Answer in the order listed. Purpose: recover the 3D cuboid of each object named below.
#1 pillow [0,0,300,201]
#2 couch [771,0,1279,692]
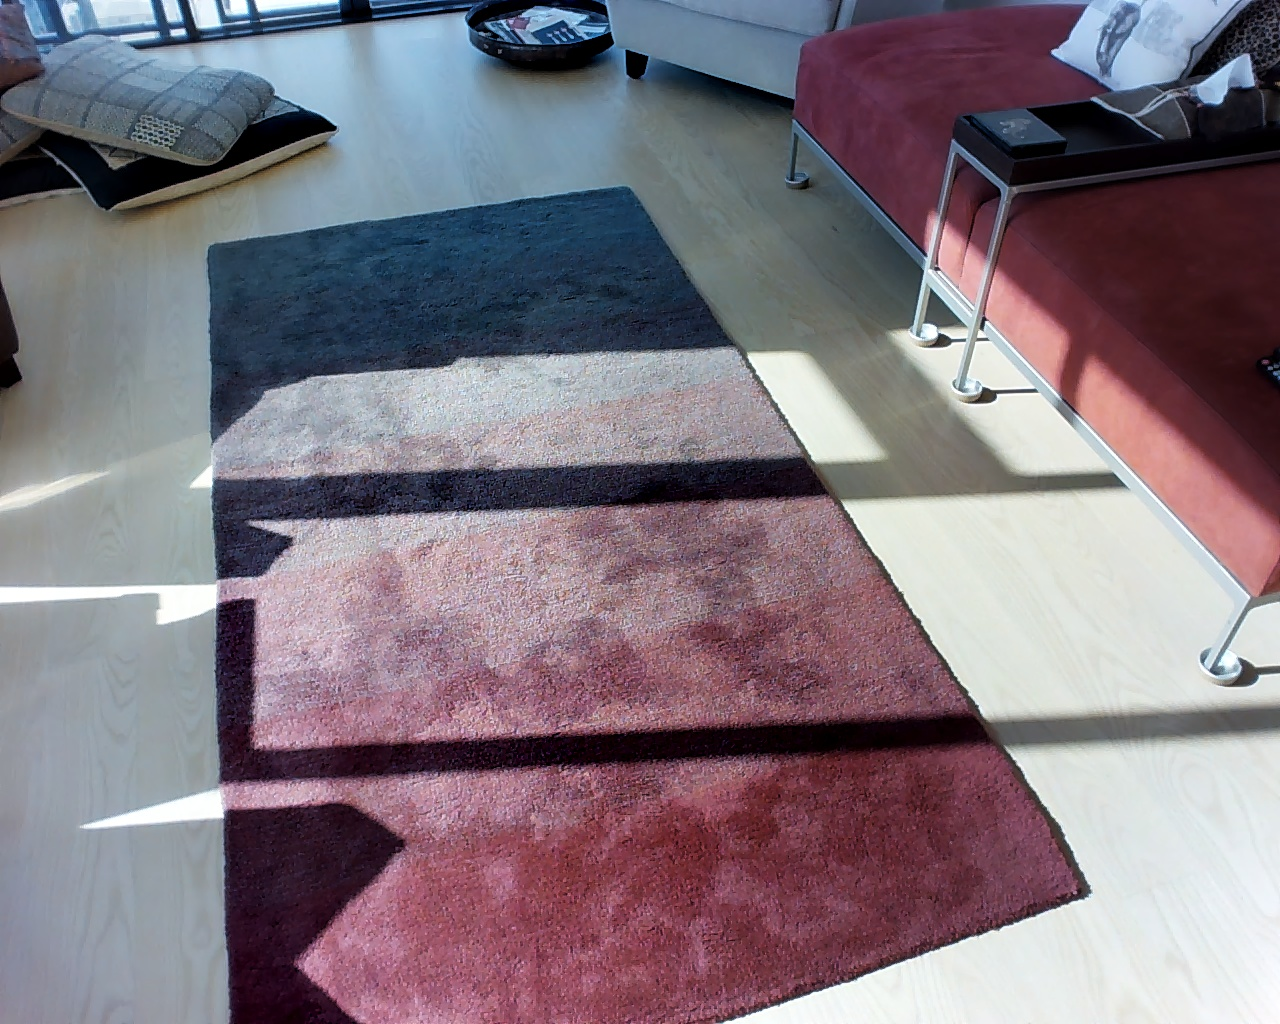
[{"bbox_3d":[-1.390,-1.200,3.100,0.660,0.160,0.620,-13,40,14],"label":"pillow"},{"bbox_3d":[1.120,-0.720,2.230,0.980,0.740,1.950,-12,44,-12],"label":"couch"}]
